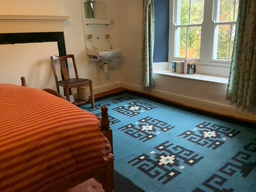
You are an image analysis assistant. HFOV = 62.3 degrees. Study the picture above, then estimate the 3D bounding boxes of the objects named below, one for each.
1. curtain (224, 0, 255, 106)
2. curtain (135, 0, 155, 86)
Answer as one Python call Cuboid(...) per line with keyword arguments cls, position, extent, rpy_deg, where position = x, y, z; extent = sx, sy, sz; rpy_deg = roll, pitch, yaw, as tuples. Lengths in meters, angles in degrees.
Cuboid(cls="curtain", position=(1.380, -0.680, 2.470), extent=(0.160, 1.570, 0.320), rpy_deg=(-15, 20, -39))
Cuboid(cls="curtain", position=(0.300, -1.010, 3.600), extent=(0.190, 1.640, 0.270), rpy_deg=(-14, 20, -38))
